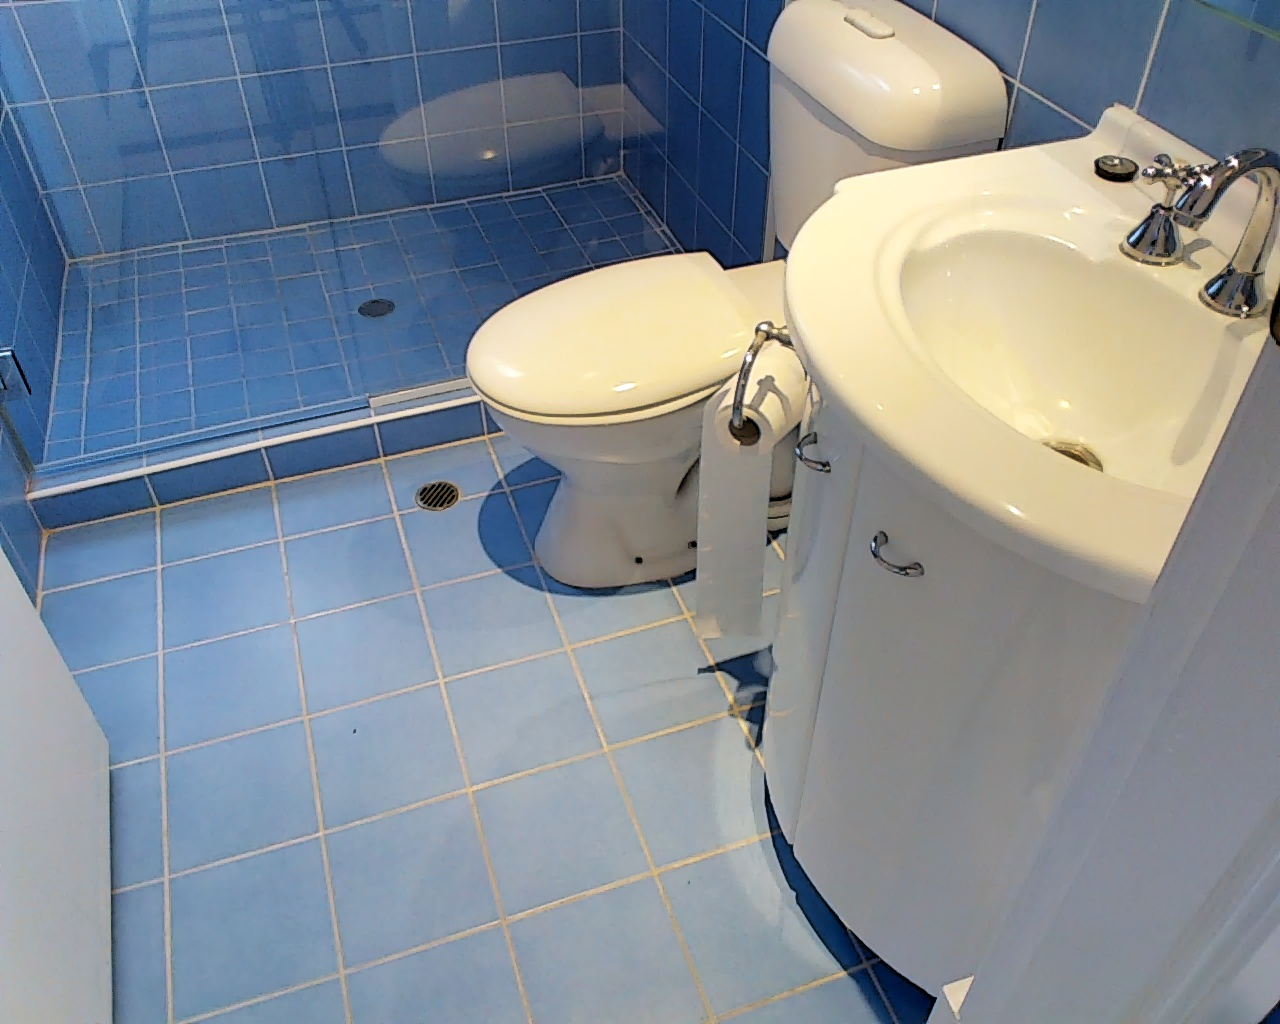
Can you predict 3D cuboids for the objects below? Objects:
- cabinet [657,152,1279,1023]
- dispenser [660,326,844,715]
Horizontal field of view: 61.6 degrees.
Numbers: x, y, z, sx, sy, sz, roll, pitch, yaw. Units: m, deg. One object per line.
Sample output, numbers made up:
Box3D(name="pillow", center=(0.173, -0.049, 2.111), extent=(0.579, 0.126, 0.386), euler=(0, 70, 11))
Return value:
Box3D(name="cabinet", center=(0.380, 0.140, 1.190), extent=(0.530, 0.790, 0.600), euler=(-14, 44, -15))
Box3D(name="dispenser", center=(0.130, 0.030, 1.420), extent=(0.160, 0.520, 0.150), euler=(-13, 43, -14))
